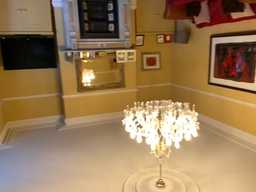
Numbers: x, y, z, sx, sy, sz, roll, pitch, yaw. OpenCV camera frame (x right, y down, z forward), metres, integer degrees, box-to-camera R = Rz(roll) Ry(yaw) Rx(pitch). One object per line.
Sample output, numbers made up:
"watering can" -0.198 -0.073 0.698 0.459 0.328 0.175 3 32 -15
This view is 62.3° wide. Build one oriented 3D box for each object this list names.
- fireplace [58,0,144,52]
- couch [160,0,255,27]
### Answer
"fireplace" -0.600 -1.720 4.830 1.760 1.330 0.760 -7 -166 -22
"couch" 1.600 -1.790 3.800 1.090 0.860 2.130 -7 -166 -21
